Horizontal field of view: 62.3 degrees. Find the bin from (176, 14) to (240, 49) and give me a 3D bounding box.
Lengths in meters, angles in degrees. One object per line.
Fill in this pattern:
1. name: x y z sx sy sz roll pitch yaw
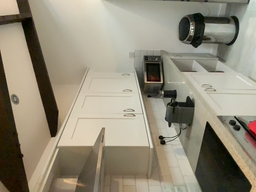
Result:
1. bin: 1.080 -0.920 2.980 0.510 0.630 0.400 -97 9 -67
